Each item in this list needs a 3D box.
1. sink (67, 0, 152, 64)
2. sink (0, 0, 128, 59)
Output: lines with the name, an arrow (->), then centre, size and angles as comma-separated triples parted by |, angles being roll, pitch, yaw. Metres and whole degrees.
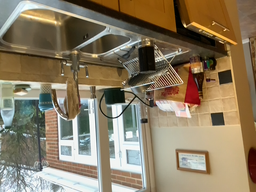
sink -> -0.120, -0.340, 1.200 | 0.240, 0.190, 0.450 | 1, 173, -44
sink -> -0.340, -0.370, 0.960 | 0.420, 0.230, 0.520 | 1, 173, -44
